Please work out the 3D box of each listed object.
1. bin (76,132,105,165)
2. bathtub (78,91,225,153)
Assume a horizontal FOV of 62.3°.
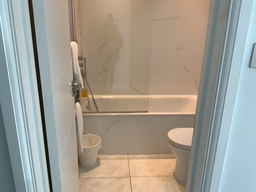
[{"bbox_3d":[-0.400,0.570,2.330,0.290,0.240,0.260,0,18,-6],"label":"bin"},{"bbox_3d":[0.250,0.300,2.760,1.650,0.540,0.690,0,18,-5],"label":"bathtub"}]
